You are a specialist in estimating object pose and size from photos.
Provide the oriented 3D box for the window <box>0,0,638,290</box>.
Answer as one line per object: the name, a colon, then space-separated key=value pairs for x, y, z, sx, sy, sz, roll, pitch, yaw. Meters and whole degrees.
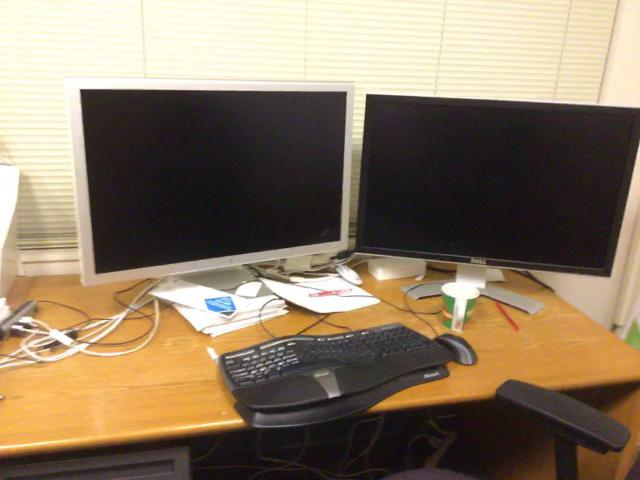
window: x=-0.040 y=-0.520 z=1.590 sx=1.990 sy=1.250 sz=0.190 roll=-2 pitch=19 yaw=-17

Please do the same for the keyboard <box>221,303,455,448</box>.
keyboard: x=0.040 y=0.270 z=1.250 sx=0.450 sy=0.120 sz=0.220 roll=-7 pitch=21 yaw=-30

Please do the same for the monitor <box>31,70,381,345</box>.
monitor: x=-0.240 y=-0.100 z=1.350 sx=0.730 sy=0.530 sz=0.190 roll=-6 pitch=20 yaw=-28

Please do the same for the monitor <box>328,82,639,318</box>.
monitor: x=0.410 y=-0.120 z=1.550 sx=0.720 sy=0.530 sz=0.220 roll=6 pitch=18 yaw=6
